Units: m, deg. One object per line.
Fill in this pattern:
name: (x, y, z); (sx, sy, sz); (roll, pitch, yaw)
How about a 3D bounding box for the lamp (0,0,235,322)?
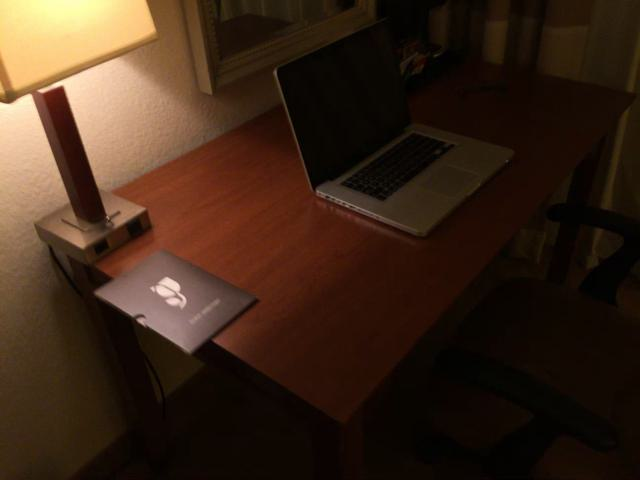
lamp: (-0.380, -0.220, 0.860); (0.310, 0.540, 0.290); (25, 46, 34)
